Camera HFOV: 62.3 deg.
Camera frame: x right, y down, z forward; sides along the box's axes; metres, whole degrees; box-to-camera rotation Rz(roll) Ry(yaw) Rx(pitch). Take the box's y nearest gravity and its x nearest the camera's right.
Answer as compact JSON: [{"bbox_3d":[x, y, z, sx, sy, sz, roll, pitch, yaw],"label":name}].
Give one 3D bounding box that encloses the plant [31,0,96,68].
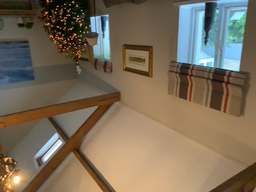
[{"bbox_3d":[-1.480,-1.720,4.730,0.890,1.930,1.200,-15,-158,-34],"label":"plant"}]
